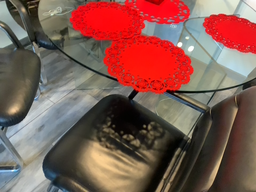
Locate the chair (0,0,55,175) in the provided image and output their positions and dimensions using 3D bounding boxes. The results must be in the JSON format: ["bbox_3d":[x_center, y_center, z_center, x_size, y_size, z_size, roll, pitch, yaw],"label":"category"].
[{"bbox_3d":[-0.800,-0.080,1.030,0.660,0.950,0.570,1,49,-9],"label":"chair"}]

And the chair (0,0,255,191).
[{"bbox_3d":[0.050,0.260,0.870,0.670,0.950,0.580,27,50,14],"label":"chair"}]
